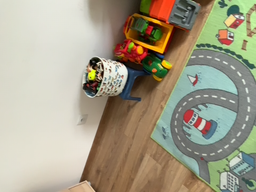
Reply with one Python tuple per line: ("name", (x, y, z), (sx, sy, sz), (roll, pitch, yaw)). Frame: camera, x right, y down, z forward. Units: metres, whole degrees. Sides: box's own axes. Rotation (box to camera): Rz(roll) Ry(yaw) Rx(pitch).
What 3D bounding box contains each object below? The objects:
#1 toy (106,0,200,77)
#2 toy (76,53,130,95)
("toy", (0.140, -0.450, 1.350), (0.380, 0.220, 0.530), (36, 114, 34))
("toy", (-0.160, -0.130, 1.370), (0.240, 0.230, 0.230), (-2, 90, 41))
